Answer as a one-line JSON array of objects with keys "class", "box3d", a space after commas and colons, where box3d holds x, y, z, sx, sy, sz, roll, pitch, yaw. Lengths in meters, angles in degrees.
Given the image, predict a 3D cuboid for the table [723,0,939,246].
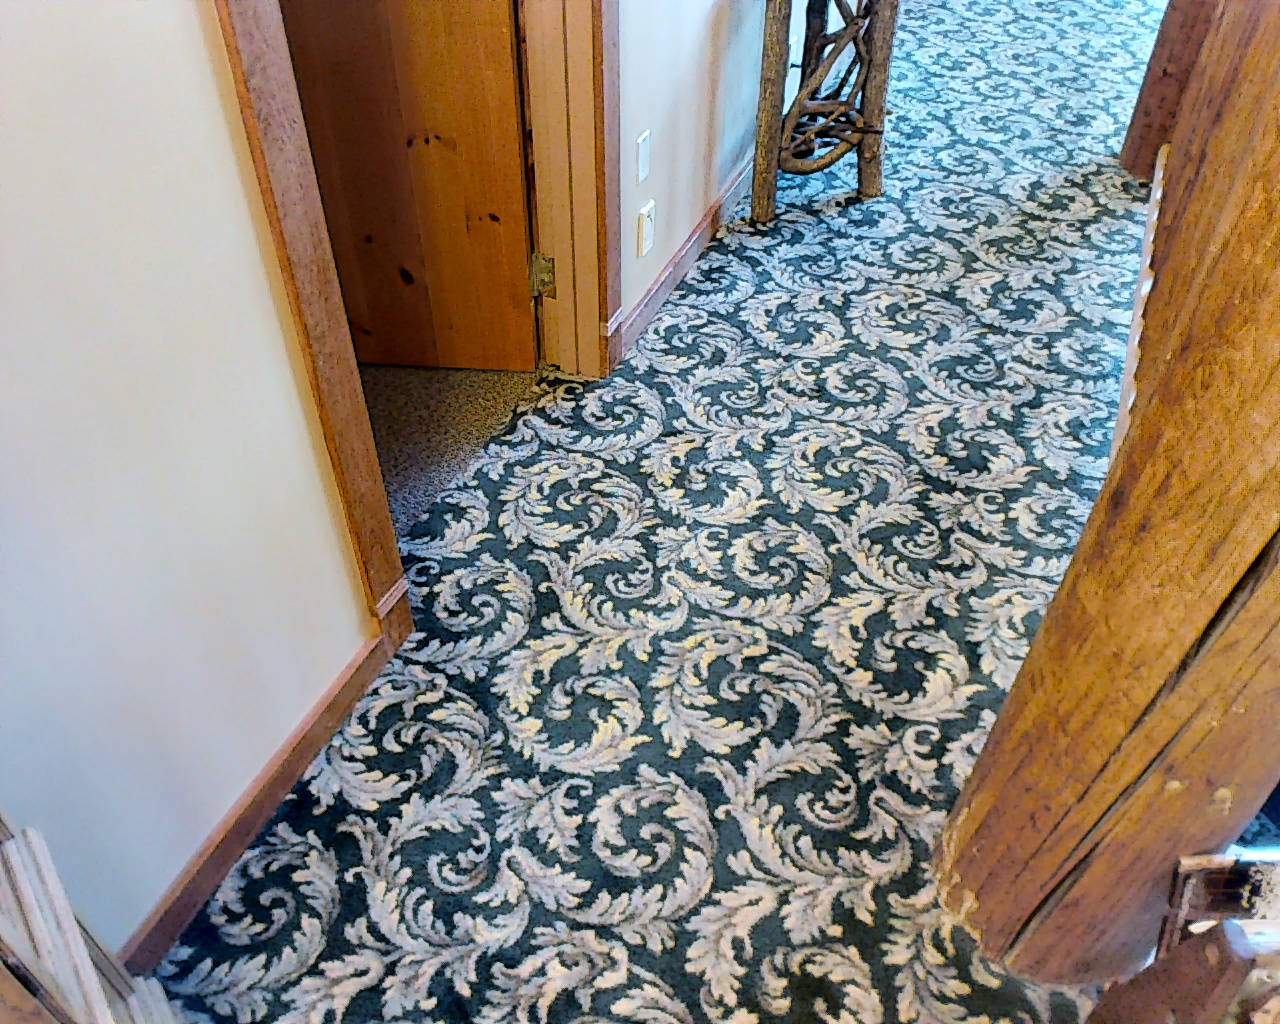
[{"class": "table", "box3d": [0.600, -1.370, 3.240, 0.400, 0.770, 0.790, 17, 46, 17]}]
